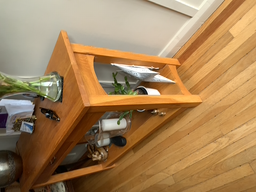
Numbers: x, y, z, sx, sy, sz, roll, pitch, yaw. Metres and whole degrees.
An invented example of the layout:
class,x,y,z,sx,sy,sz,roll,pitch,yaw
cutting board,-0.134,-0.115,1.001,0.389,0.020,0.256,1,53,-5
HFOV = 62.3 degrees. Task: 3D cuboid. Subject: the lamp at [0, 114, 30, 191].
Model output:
class,x,y,z,sx,sy,sz,roll,pitch,yaw
lamp,-0.910,0.400,1.270,0.350,0.470,0.440,-49,54,40
